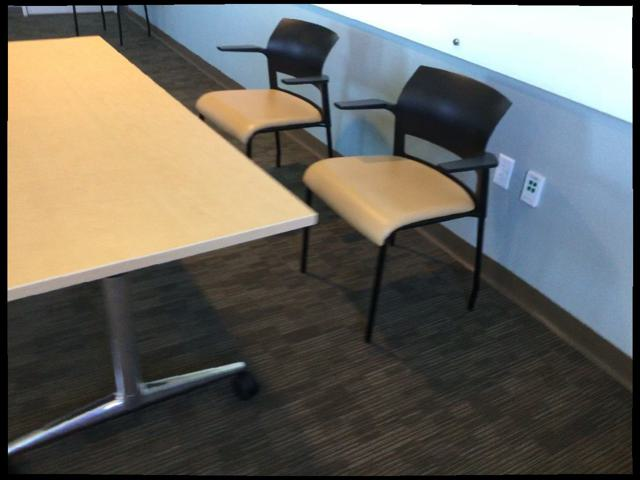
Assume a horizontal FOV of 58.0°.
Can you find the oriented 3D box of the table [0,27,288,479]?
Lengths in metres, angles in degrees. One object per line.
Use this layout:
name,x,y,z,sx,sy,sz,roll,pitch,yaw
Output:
table,-0.948,-0.140,1.930,0.879,0.671,1.890,-15,36,-27
